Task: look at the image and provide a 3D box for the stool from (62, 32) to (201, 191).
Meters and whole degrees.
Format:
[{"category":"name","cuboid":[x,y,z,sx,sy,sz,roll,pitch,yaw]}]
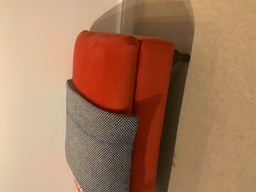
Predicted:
[{"category":"stool","cuboid":[-0.070,0.170,1.140,0.600,0.420,0.930,31,120,56]}]
